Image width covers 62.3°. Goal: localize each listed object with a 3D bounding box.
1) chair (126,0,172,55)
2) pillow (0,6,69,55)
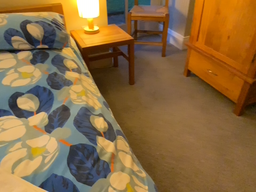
[{"bbox_3d":[0.250,-1.030,2.440,0.460,0.930,0.540,5,37,6],"label":"chair"},{"bbox_3d":[-0.760,-0.420,1.360,0.670,0.150,0.370,-13,39,-17],"label":"pillow"}]
